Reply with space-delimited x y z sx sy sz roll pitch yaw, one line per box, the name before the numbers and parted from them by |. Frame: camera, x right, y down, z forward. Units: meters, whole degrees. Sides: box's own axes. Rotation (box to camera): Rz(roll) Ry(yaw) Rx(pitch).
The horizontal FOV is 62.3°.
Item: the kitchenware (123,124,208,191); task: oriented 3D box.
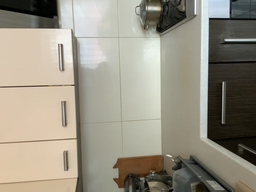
kitchenware | 0.150 0.510 1.200 0.600 0.280 0.500 -125 34 -75
